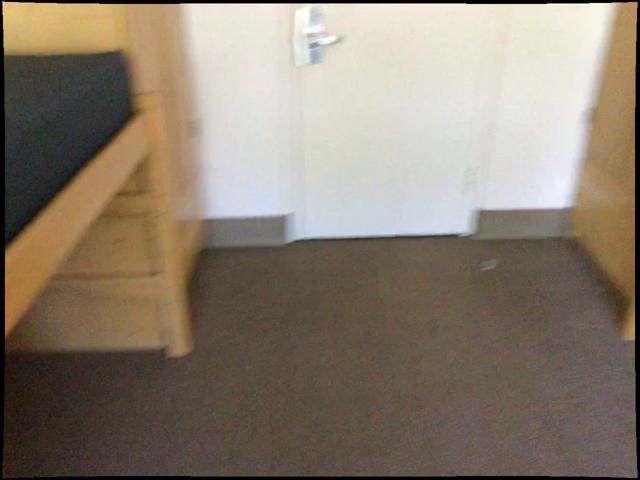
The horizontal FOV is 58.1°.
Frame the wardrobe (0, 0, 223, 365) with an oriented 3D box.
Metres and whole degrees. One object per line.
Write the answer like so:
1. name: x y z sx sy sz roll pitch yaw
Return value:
1. wardrobe: -1.027 -0.602 2.090 1.037 1.944 0.881 -1 28 0
